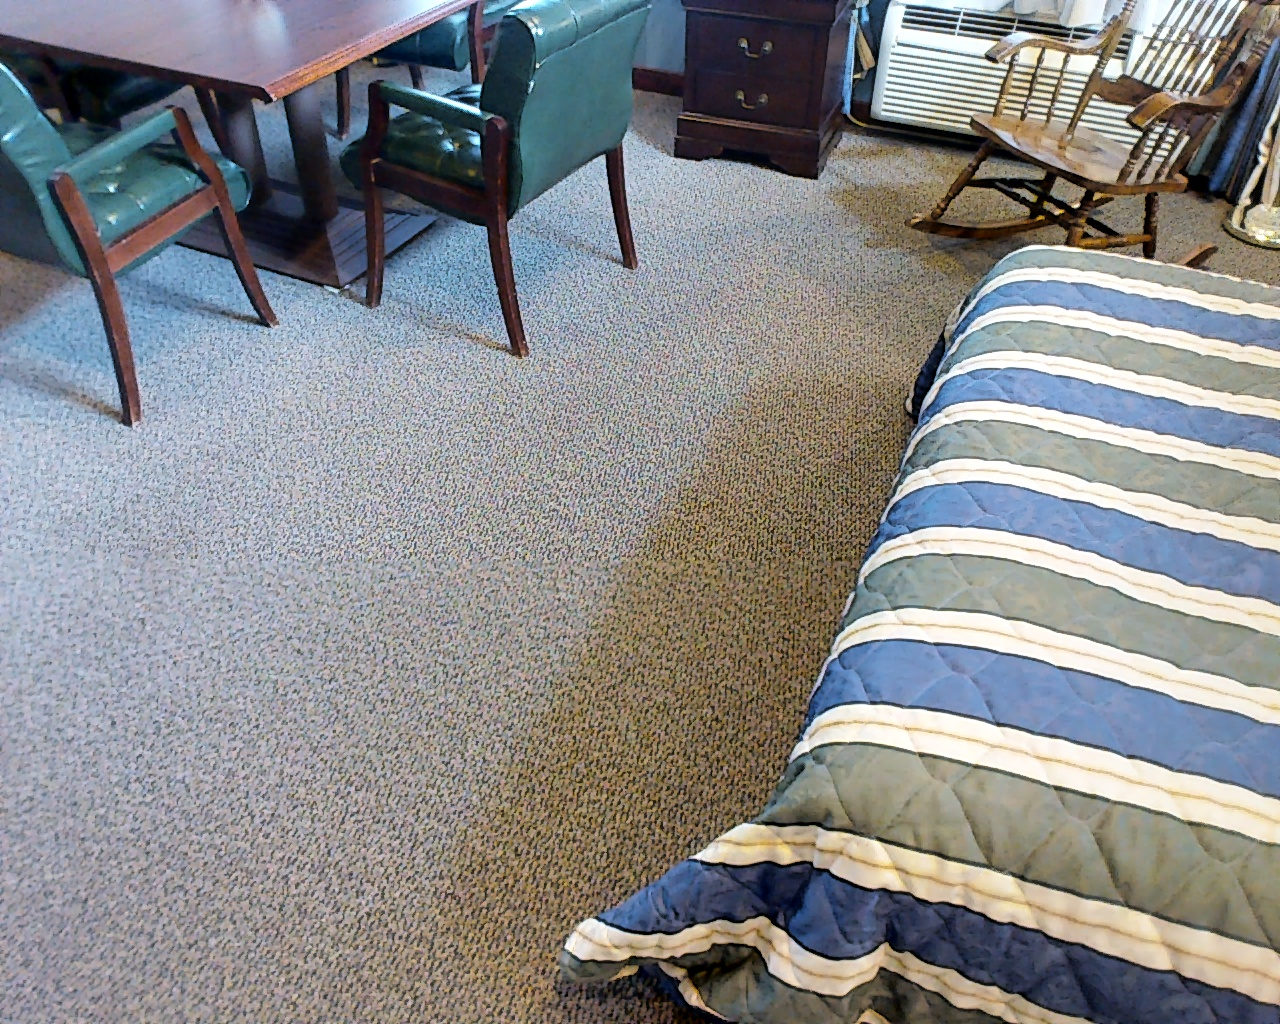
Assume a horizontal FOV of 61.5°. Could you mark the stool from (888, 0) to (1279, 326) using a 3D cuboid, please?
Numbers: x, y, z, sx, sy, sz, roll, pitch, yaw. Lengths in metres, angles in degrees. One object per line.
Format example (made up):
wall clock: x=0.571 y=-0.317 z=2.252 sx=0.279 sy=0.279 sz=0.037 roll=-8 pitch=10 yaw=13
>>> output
stool: x=1.330 y=-1.220 z=2.910 sx=0.980 sy=1.060 sz=0.590 roll=-19 pitch=45 yaw=-21

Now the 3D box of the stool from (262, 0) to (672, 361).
stool: x=-0.410 y=-1.040 z=2.910 sx=0.740 sy=0.860 sz=0.710 roll=19 pitch=44 yaw=20

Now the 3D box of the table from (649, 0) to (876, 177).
table: x=0.420 y=-1.580 z=3.710 sx=0.670 sy=0.610 sz=0.430 roll=13 pitch=43 yaw=13

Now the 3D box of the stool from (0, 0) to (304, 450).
stool: x=-1.410 y=-0.790 z=2.610 sx=0.680 sy=0.880 sz=0.740 roll=16 pitch=44 yaw=17
